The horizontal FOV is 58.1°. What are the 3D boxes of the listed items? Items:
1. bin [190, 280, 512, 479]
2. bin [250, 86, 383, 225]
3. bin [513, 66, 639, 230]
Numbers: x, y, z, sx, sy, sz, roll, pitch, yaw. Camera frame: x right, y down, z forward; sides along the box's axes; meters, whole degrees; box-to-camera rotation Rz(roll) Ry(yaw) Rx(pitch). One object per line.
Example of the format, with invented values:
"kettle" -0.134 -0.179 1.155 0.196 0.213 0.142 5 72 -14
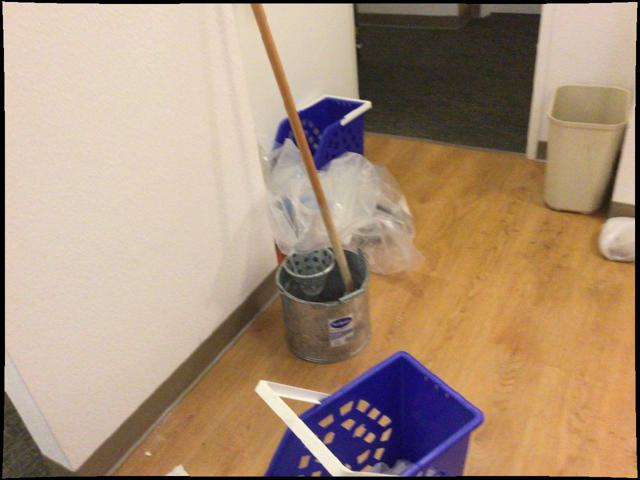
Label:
"bin" 0.080 0.461 1.200 0.489 0.491 0.340 -28 40 -26
"bin" 0.010 -0.391 2.530 0.309 0.341 0.570 14 41 27
"bin" 1.007 -0.371 2.250 0.349 0.451 0.410 14 41 27
